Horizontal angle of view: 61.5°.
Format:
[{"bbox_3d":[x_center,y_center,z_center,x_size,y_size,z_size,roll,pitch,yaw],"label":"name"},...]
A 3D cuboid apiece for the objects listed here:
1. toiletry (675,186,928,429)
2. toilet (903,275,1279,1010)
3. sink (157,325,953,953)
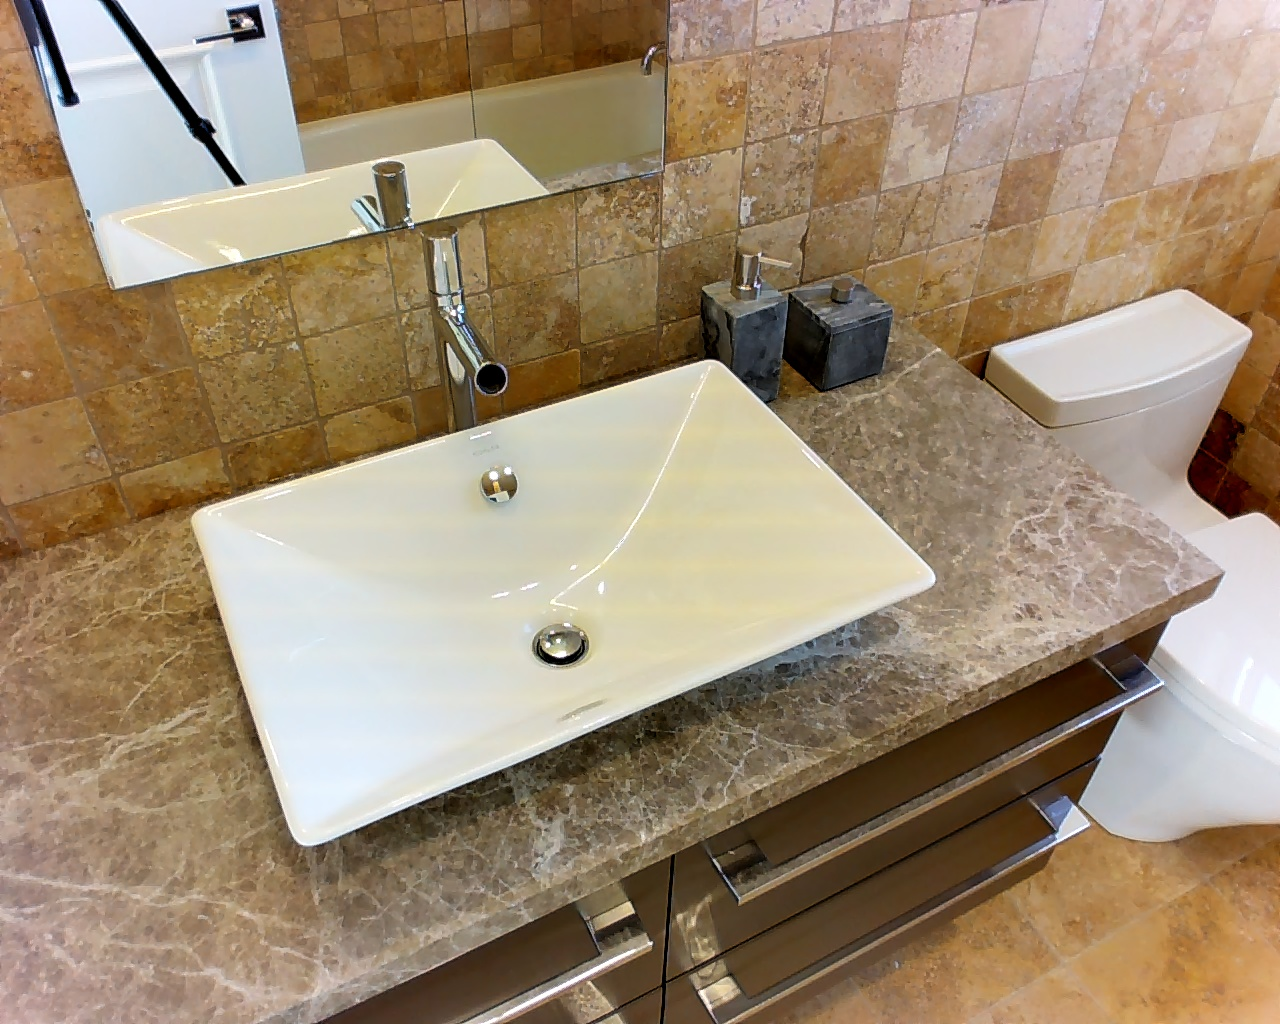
[{"bbox_3d":[0.180,-0.240,1.250,0.240,0.190,0.130,-19,46,-21],"label":"toiletry"},{"bbox_3d":[0.880,0.180,1.670,0.460,0.750,0.720,-18,45,-20],"label":"toilet"},{"bbox_3d":[-0.090,0.060,0.990,0.570,0.140,0.430,-19,46,-21],"label":"sink"}]
